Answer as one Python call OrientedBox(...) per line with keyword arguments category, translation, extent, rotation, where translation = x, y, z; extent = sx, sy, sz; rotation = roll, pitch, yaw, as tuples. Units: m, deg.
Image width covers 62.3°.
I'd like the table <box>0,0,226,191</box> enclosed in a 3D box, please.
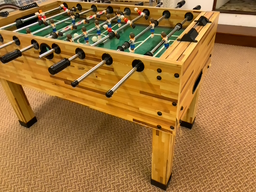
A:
OrientedBox(category="table", translation=(-0.230, -0.140, 1.580), extent=(1.460, 0.930, 0.900), rotation=(17, 41, 25))
